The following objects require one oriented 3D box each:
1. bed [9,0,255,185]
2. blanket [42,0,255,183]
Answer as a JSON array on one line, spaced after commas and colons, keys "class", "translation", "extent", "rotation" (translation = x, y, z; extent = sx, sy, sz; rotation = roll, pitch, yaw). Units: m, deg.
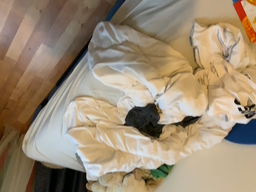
[{"class": "bed", "translation": [0.150, -0.110, 1.130], "extent": [0.780, 0.390, 1.890], "rotation": [27, 128, -30]}, {"class": "blanket", "translation": [0.150, 0.080, 0.930], "extent": [0.670, 0.180, 0.880], "rotation": [27, 128, -30]}]
